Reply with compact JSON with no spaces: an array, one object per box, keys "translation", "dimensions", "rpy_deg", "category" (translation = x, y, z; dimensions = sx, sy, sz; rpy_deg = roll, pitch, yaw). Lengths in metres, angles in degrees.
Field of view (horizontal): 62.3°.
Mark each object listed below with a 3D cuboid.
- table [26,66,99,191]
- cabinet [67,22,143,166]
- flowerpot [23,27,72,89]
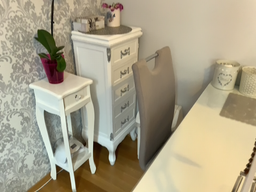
[{"translation":[-0.410,0.240,1.470],"dimensions":[0.260,0.800,0.300],"rpy_deg":[18,33,27],"category":"table"},{"translation":[-0.160,-0.010,1.710],"dimensions":[0.330,1.030,0.430],"rpy_deg":[18,33,27],"category":"cabinet"},{"translation":[-0.460,-0.230,1.250],"dimensions":[0.130,0.300,0.200],"rpy_deg":[15,31,23],"category":"flowerpot"}]
